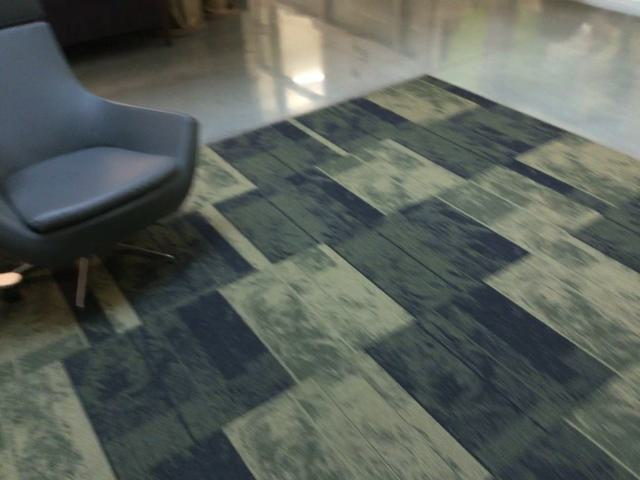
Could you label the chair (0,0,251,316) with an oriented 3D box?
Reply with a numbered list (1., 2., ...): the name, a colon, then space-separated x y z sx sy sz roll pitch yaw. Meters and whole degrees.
1. chair: -0.800 -0.430 1.800 0.750 0.840 0.730 -32 42 -32
